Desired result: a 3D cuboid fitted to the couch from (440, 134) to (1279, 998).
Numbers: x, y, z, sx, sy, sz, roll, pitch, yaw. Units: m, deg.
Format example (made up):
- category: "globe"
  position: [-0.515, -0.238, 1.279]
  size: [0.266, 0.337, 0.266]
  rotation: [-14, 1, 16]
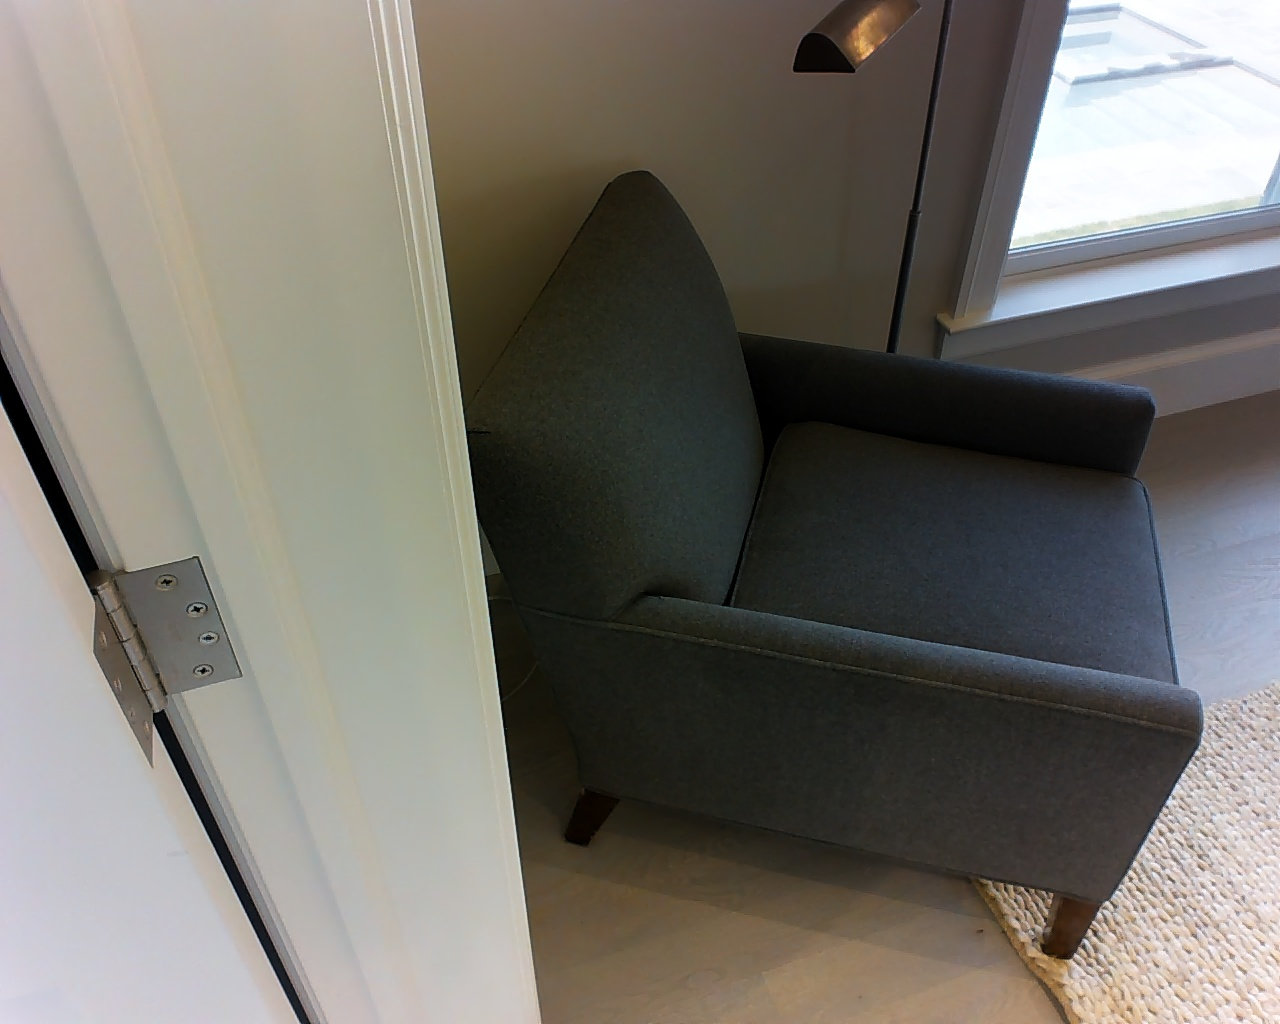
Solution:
- category: "couch"
  position: [0.340, 0.030, 1.660]
  size: [0.920, 0.800, 0.840]
  rotation: [12, 43, 13]
